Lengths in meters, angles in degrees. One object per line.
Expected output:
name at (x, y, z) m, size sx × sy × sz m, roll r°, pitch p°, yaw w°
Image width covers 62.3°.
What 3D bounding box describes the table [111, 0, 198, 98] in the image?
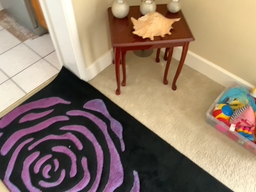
table at (0.130, -0.350, 1.540) m, size 0.480 × 0.490 × 0.510 m, roll -3°, pitch 53°, yaw -4°
